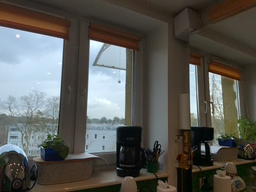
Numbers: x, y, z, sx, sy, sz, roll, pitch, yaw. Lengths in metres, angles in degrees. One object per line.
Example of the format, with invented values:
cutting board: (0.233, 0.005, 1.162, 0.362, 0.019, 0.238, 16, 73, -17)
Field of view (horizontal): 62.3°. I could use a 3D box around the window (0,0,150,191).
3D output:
window: (-0.490, -0.020, 1.510, 1.510, 1.250, 0.130, 6, -9, -32)
